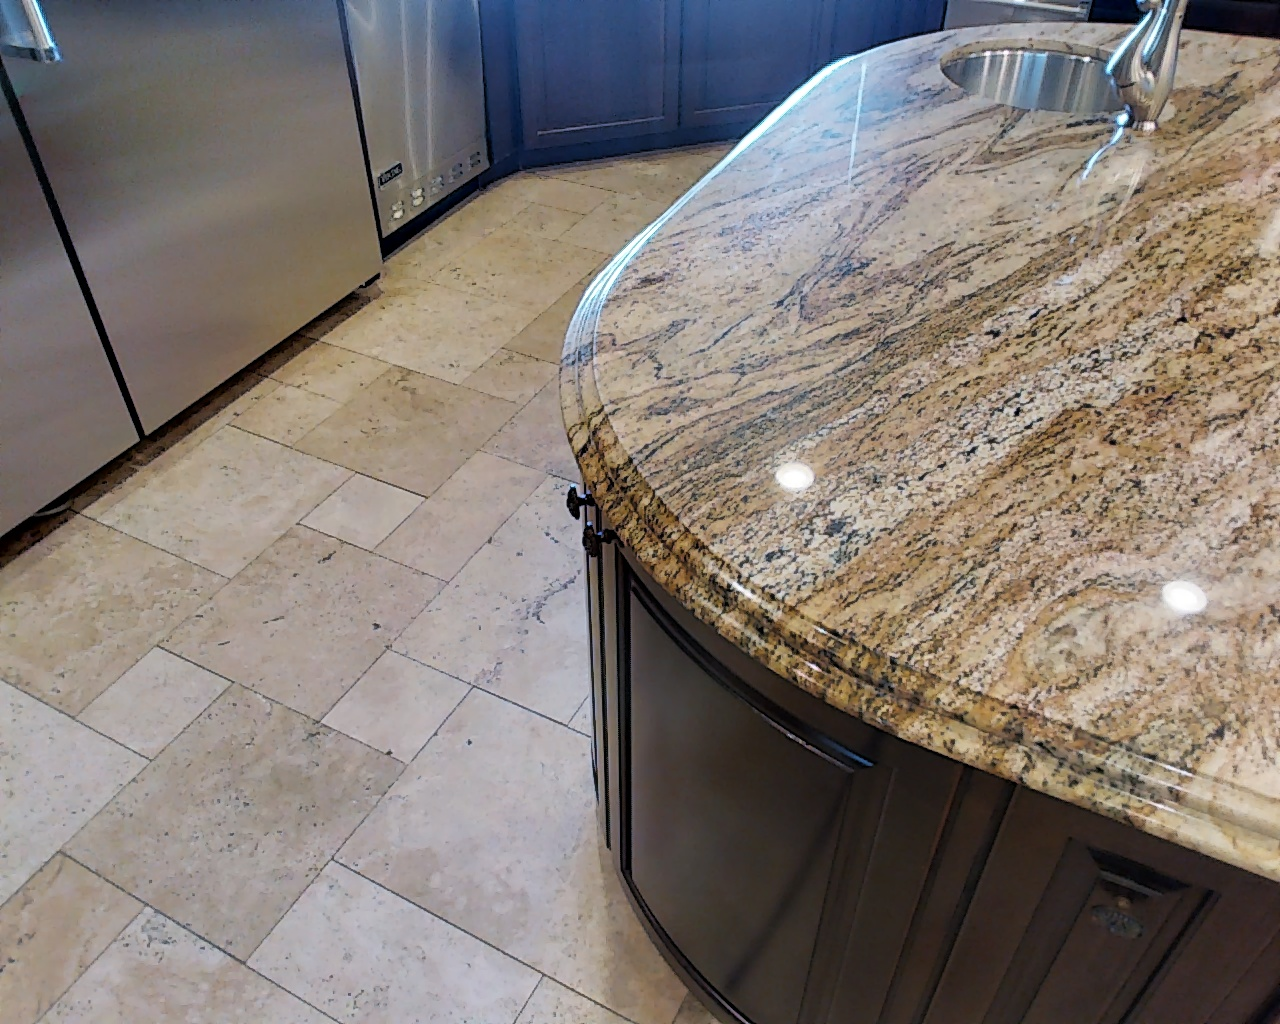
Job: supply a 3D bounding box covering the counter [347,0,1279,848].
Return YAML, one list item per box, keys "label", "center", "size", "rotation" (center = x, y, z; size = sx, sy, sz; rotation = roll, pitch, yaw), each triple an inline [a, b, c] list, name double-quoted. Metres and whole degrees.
- label: "counter"
  center: [0.750, -0.380, 1.480]
  size: [1.390, 0.100, 1.860]
  rotation: [19, 45, 20]
